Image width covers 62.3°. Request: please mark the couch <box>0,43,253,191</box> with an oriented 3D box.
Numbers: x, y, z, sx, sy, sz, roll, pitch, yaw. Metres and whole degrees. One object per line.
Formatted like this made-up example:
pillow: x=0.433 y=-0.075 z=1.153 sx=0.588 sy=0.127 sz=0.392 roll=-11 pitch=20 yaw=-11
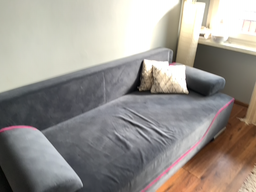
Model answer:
couch: x=0.060 y=0.180 z=1.790 sx=2.180 sy=0.720 sz=0.960 roll=-24 pitch=37 yaw=-39
